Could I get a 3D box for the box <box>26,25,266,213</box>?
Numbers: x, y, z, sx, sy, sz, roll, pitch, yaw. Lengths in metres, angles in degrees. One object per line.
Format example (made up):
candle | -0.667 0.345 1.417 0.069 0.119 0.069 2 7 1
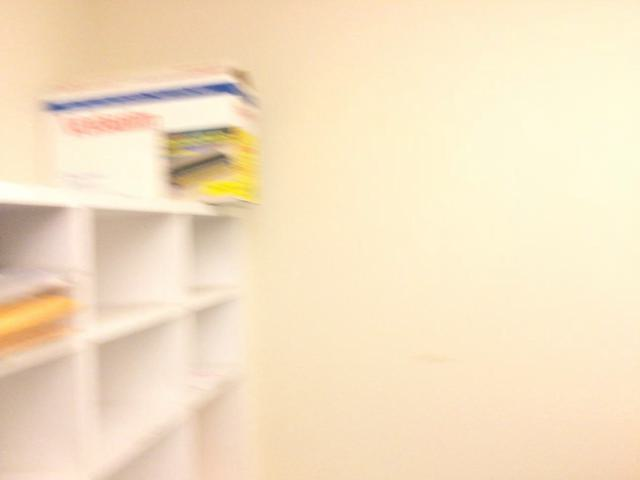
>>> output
box | -0.330 -0.220 1.150 0.390 0.300 0.180 -4 2 9
